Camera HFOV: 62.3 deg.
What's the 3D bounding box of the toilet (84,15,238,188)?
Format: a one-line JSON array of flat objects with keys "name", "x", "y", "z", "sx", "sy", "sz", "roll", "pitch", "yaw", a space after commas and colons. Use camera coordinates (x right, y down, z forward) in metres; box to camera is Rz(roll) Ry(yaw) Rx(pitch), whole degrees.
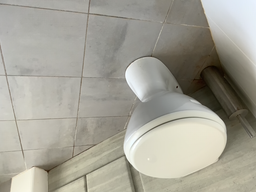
[{"name": "toilet", "x": 0.140, "y": 0.060, "z": 0.920, "sx": 0.370, "sy": 0.450, "sz": 0.510, "roll": -30, "pitch": 138, "yaw": 15}]
